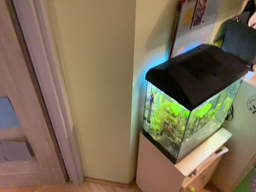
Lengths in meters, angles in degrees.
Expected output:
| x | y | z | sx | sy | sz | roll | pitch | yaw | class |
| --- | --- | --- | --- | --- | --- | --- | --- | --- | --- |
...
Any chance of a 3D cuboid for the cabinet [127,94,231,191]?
| x | y | z | sx | sy | sz | roll | pitch | yaw | class |
| --- | --- | --- | --- | --- | --- | --- | --- | --- | --- |
| 0.290 | 0.390 | 1.400 | 0.450 | 0.580 | 0.370 | -27 | 49 | -29 | cabinet |
